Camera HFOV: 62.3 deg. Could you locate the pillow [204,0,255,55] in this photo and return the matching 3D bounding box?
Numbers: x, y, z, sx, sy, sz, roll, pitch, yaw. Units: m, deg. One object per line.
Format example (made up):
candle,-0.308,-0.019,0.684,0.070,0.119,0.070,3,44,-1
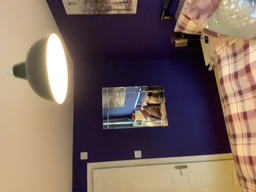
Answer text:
pillow,0.720,-0.500,1.430,0.420,0.350,0.170,45,-144,-62
